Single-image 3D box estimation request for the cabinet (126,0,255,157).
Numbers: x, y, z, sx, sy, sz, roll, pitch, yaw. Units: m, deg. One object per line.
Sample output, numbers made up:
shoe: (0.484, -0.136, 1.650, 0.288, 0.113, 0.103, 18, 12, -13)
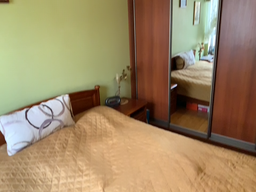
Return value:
cabinet: (0.900, -0.730, 2.750, 1.800, 2.540, 0.630, 12, 25, 35)
